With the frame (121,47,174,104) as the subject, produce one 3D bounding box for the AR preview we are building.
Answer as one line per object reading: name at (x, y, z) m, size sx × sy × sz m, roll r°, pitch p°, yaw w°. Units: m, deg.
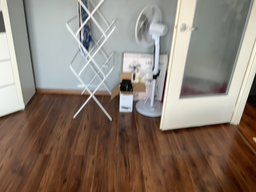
frame at (0.220, -0.250, 2.700) m, size 0.590 × 0.670 × 0.200 m, roll 2°, pitch 26°, yaw -4°
